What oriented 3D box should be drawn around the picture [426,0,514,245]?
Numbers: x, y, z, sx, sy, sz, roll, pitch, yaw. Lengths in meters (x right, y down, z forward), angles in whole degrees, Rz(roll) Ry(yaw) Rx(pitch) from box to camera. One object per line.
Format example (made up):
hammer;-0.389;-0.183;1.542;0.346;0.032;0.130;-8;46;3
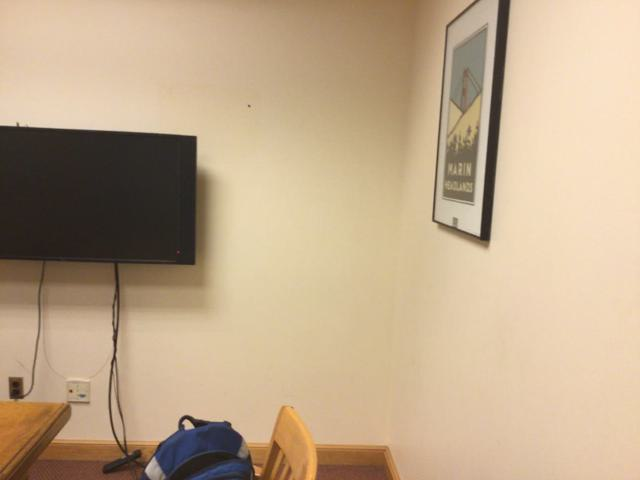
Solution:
picture;0.470;-0.400;1.900;0.030;0.750;0.650;2;7;-4
